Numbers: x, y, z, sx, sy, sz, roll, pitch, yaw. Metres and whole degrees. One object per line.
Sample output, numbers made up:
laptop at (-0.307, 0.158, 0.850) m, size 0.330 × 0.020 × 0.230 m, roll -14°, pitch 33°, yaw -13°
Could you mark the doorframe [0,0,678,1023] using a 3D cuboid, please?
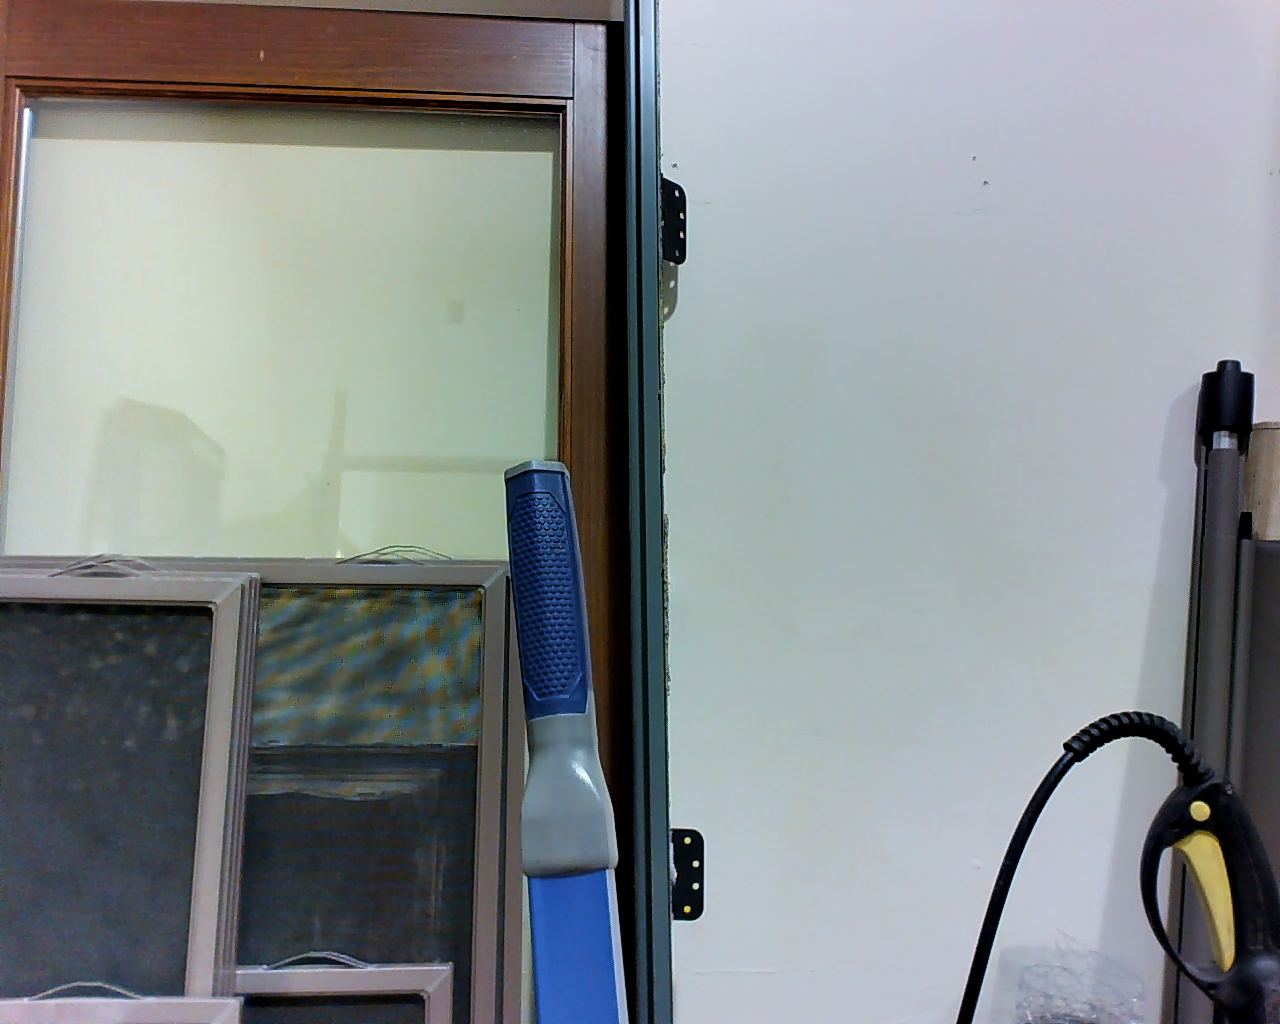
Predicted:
doorframe at (-0.460, 0.350, 1.150) m, size 0.980 × 2.080 × 0.180 m, roll 1°, pitch -7°, yaw -5°
